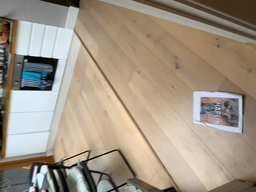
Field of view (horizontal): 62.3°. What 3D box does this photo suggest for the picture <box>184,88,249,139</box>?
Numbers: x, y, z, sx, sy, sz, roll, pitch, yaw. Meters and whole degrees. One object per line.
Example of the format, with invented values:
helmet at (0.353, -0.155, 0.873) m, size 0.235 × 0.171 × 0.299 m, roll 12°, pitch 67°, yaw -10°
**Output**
picture at (0.480, 0.080, 1.200) m, size 0.350 × 0.050 × 0.240 m, roll 7°, pitch 95°, yaw 54°
